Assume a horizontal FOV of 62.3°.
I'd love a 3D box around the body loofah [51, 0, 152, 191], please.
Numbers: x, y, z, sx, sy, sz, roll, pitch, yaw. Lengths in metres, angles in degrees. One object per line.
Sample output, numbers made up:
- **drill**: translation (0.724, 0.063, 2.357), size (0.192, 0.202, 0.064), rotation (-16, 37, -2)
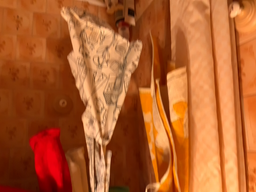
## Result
- **body loofah**: translation (-0.090, 0.080, 0.790), size (0.290, 0.780, 0.280), rotation (-1, 170, -5)
